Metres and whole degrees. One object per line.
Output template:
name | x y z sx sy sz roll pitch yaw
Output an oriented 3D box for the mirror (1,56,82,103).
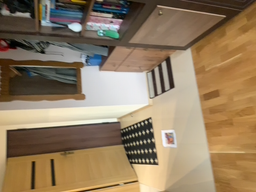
mirror | -1.040 -0.200 2.610 0.120 0.880 0.530 151 115 -65
